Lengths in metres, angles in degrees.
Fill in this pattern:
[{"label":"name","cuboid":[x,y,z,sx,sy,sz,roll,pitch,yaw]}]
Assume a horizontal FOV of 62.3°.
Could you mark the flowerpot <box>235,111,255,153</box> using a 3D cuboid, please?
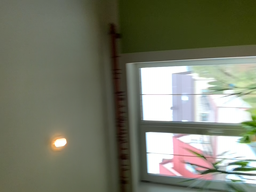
[{"label":"flowerpot","cuboid":[1.270,0.340,2.010,0.200,0.420,0.350,-23,-68,-72]}]
